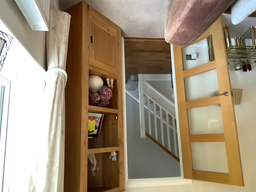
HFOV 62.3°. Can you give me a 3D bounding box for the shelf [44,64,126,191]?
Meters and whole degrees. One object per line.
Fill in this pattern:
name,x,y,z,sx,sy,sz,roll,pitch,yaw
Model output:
shelf,-0.450,0.410,2.390,0.510,1.310,0.720,-9,166,33
